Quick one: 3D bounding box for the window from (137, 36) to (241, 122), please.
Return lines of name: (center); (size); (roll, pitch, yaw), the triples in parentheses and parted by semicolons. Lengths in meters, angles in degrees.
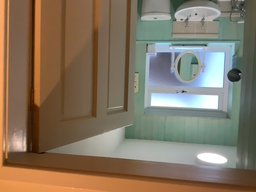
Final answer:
window: (0.850, -0.260, 3.130); (1.370, 1.150, 0.290); (3, -178, 8)
